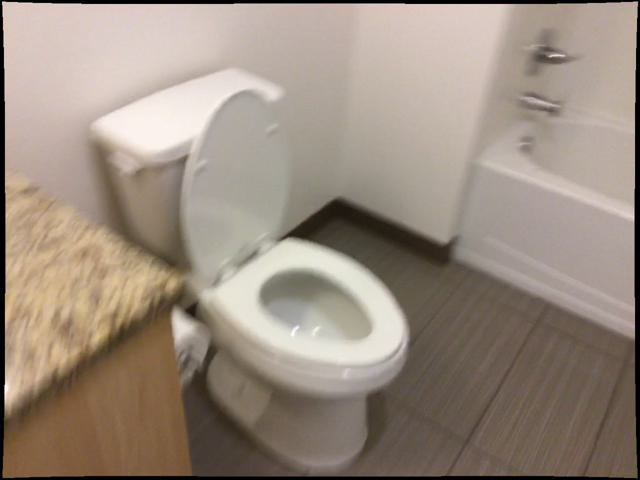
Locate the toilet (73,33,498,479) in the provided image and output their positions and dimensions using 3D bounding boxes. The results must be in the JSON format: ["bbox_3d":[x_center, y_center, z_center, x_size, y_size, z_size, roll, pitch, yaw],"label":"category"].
[{"bbox_3d":[-0.090,0.060,1.480,0.740,0.871,0.490,24,43,22],"label":"toilet"}]

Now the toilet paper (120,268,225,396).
[{"bbox_3d":[-0.270,0.170,1.080,0.130,0.160,0.120,24,43,22],"label":"toilet paper"}]
